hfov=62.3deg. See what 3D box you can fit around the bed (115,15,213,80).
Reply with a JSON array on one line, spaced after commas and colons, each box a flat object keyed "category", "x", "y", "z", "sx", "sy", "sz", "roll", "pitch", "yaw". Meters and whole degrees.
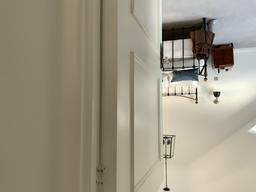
[{"category": "bed", "x": 0.790, "y": -0.880, "z": 4.610, "sx": 1.630, "sy": 0.720, "sz": 2.010, "roll": -1, "pitch": 176, "yaw": 13}]
